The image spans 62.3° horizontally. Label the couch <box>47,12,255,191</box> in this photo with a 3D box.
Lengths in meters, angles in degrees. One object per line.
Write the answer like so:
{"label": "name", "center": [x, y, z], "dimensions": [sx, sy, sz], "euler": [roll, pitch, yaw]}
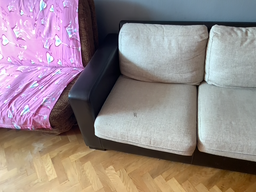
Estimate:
{"label": "couch", "center": [0.510, -0.030, 1.570], "dimensions": [1.640, 0.760, 1.030], "euler": [7, 44, 14]}

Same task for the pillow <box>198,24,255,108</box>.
{"label": "pillow", "center": [0.870, -0.230, 1.500], "dimensions": [0.620, 0.510, 0.230], "euler": [-9, 13, 23]}

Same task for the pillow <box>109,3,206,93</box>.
{"label": "pillow", "center": [0.220, -0.340, 1.650], "dimensions": [0.620, 0.480, 0.160], "euler": [-15, 3, 23]}
